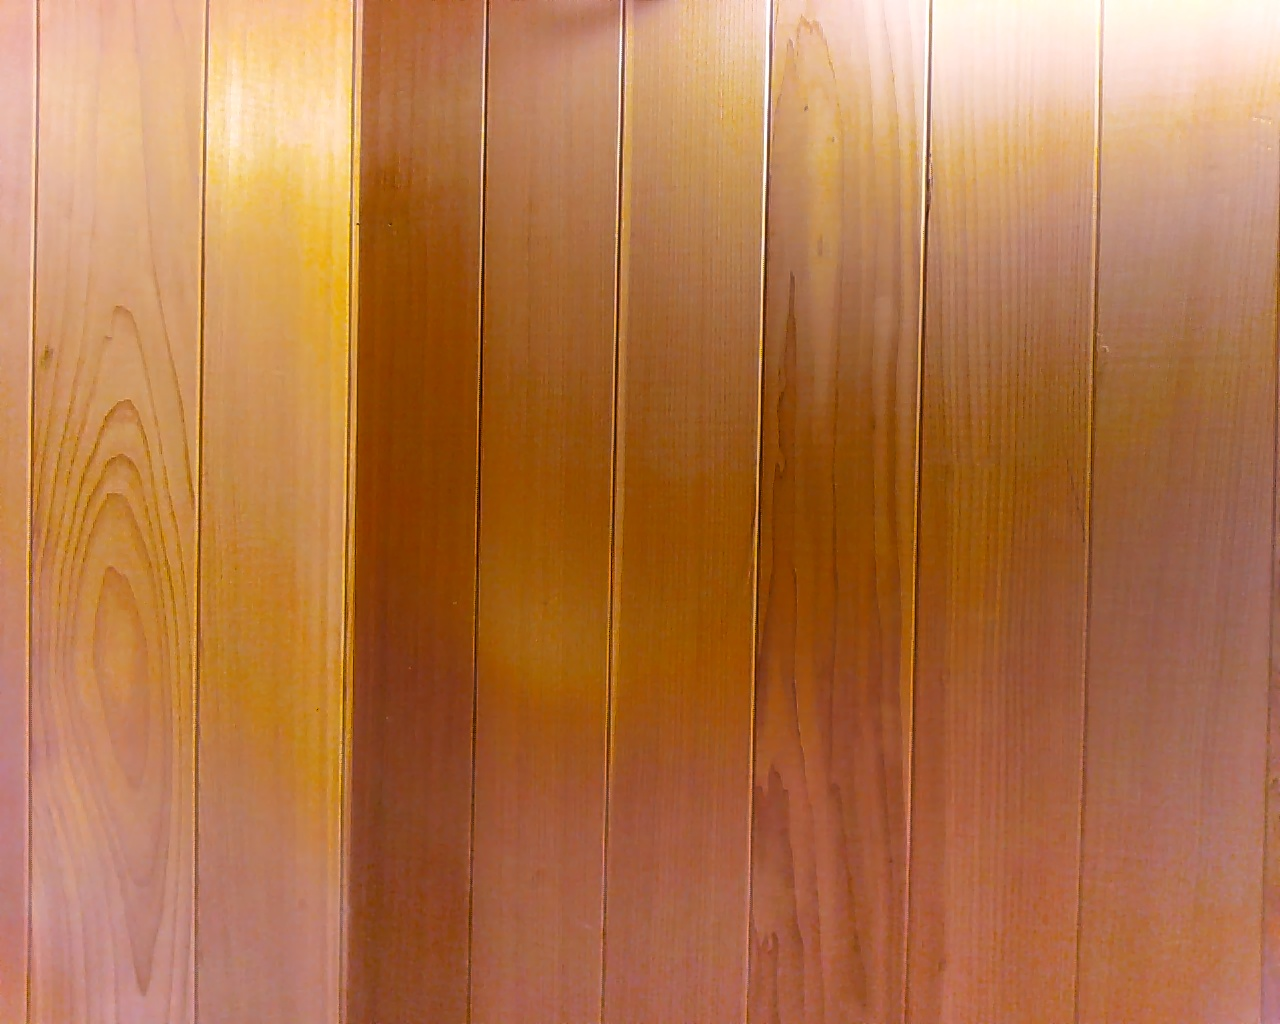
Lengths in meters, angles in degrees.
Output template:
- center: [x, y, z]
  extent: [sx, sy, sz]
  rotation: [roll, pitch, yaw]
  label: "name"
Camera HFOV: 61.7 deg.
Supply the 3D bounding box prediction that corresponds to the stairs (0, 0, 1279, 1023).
- center: [0.270, 0.200, 0.510]
  extent: [1.360, 2.770, 2.510]
  rotation: [2, 1, 15]
  label: "stairs"
